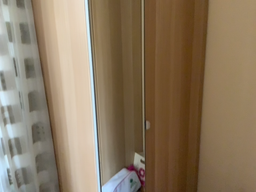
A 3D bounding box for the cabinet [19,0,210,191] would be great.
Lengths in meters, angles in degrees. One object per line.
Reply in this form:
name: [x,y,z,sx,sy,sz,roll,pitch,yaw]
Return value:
cabinet: [-0.010,0.010,1.150,0.780,2.370,0.510,-16,20,-42]
